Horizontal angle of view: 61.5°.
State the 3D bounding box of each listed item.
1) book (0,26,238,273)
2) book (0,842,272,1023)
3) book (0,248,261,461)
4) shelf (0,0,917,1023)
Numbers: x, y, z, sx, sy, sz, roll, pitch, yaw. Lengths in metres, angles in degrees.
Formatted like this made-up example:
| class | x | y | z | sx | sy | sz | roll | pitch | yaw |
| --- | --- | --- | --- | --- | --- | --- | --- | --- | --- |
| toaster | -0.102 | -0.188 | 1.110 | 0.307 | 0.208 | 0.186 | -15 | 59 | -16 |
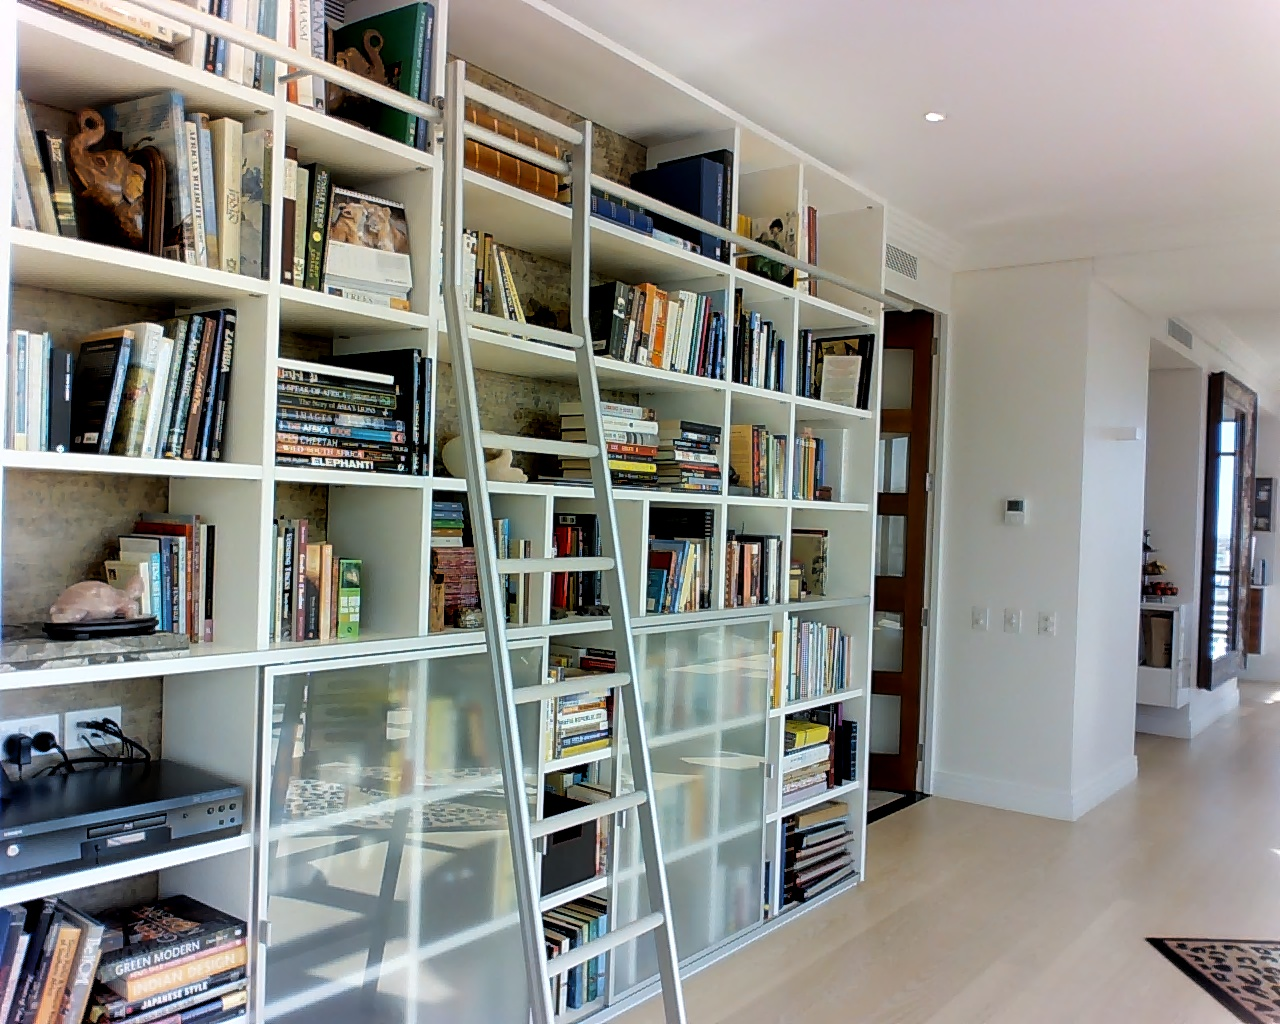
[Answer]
| class | x | y | z | sx | sy | sz | roll | pitch | yaw |
| --- | --- | --- | --- | --- | --- | --- | --- | --- | --- |
| book | -1.000 | -0.630 | 1.930 | 0.230 | 0.290 | 0.460 | 2 | 0 | 39 |
| book | -0.930 | 0.800 | 1.970 | 0.230 | 0.250 | 0.420 | 2 | 0 | 40 |
| book | -0.980 | -0.260 | 1.950 | 0.270 | 0.310 | 0.470 | 2 | 0 | 39 |
| shelf | -0.110 | -0.030 | 3.000 | 0.330 | 2.761 | 3.270 | 2 | 0 | 38 |
